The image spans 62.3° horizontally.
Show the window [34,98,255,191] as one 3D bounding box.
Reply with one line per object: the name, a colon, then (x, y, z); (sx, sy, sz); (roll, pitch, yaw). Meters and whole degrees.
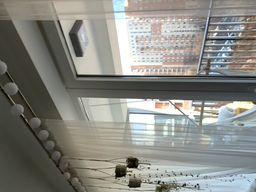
window: (0.310, 0.960, 2.300); (0.170, 1.830, 2.360); (-80, -12, -46)
